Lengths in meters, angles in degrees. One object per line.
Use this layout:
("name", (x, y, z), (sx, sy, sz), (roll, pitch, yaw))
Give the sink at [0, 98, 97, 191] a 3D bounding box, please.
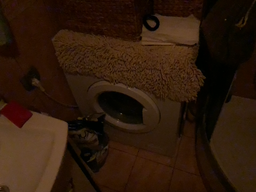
("sink", (-0.380, 0.270, 0.600), (0.380, 0.140, 0.500), (13, 53, 17))
